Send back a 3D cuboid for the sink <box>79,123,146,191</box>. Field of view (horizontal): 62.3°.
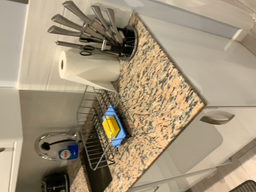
[{"bbox_3d":[-0.130,0.450,1.440,0.370,0.240,0.370,-58,43,38],"label":"sink"}]

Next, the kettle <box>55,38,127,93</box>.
[{"bbox_3d":[-0.190,-0.140,1.060,0.190,0.280,0.160,-60,42,37],"label":"kettle"}]
